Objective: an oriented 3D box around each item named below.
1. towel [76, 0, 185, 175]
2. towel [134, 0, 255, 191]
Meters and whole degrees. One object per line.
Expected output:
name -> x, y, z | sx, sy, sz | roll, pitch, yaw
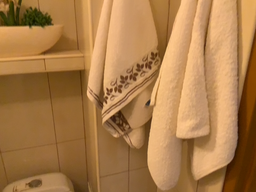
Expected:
towel -> 0.000, -0.110, 0.660 | 0.280, 0.710, 0.130 | -6, 23, -17
towel -> 0.130, -0.030, 0.520 | 0.140, 0.850, 0.240 | -5, 22, -16
